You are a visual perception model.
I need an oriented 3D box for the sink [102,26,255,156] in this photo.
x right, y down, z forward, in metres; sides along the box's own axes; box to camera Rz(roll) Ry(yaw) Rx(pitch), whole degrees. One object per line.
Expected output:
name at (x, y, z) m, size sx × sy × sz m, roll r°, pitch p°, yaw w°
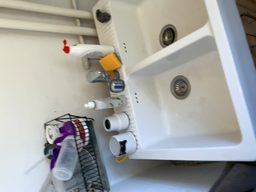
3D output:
sink at (0.190, 0.040, 0.980) m, size 0.730 × 0.200 × 0.400 m, roll -17°, pitch 82°, yaw 50°

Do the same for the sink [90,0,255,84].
sink at (0.120, -0.350, 1.010) m, size 0.740 × 0.200 × 0.410 m, roll -17°, pitch 82°, yaw 50°
